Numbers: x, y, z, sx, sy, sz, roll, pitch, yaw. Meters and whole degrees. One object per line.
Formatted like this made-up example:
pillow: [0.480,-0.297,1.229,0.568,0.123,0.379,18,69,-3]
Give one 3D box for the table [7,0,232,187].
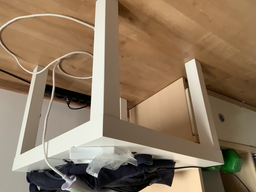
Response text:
table: [-0.040,0.090,0.880,0.580,0.470,0.580,23,144,-38]
